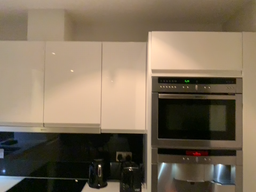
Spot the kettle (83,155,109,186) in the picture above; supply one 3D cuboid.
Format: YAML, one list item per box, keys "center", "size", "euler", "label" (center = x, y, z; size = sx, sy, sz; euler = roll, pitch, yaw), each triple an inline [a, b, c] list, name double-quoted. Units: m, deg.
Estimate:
- center: [-0.280, 0.660, 1.900]
  size: [0.180, 0.190, 0.220]
  euler: [1, -1, 3]
  label: "kettle"

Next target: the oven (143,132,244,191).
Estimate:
- center: [0.450, 0.600, 1.700]
  size: [0.600, 0.500, 0.640]
  euler: [1, 0, 0]
  label: "oven"
